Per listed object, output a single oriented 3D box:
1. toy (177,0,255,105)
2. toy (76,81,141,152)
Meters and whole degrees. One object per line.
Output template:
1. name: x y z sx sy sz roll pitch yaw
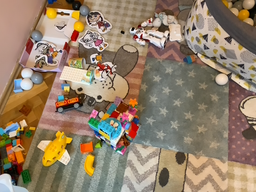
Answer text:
1. toy: 0.820 -0.440 1.260 0.800 0.440 0.880 15 68 5
2. toy: -0.080 0.120 1.050 0.250 0.330 0.250 4 68 1
